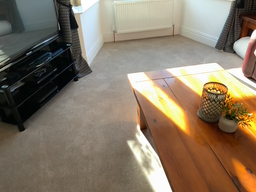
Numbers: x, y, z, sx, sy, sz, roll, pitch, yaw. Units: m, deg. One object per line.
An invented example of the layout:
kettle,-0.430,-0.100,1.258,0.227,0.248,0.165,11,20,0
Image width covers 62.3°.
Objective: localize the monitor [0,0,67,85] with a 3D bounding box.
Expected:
monitor,-1.010,-0.690,1.930,0.090,0.850,1.230,9,36,16
